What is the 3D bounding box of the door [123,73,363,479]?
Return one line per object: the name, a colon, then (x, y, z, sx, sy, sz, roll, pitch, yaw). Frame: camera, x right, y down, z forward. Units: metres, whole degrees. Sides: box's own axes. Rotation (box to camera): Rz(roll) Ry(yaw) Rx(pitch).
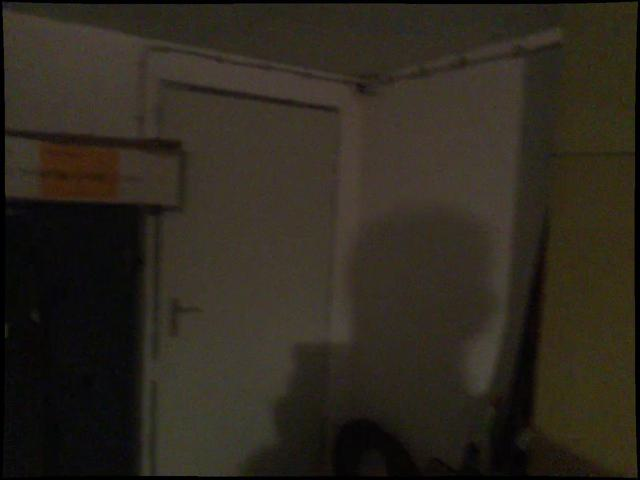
door: (-0.350, 0.300, 2.700, 1.019, 1.942, 0.200, 0, 7, -30)
